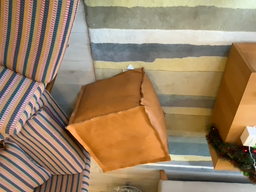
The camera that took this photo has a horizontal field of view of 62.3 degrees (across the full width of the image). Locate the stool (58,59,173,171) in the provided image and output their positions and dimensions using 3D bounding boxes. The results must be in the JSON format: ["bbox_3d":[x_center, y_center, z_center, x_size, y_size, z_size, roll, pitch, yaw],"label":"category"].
[{"bbox_3d":[-0.040,0.140,1.400,0.530,0.420,0.500,-13,128,15],"label":"stool"}]
